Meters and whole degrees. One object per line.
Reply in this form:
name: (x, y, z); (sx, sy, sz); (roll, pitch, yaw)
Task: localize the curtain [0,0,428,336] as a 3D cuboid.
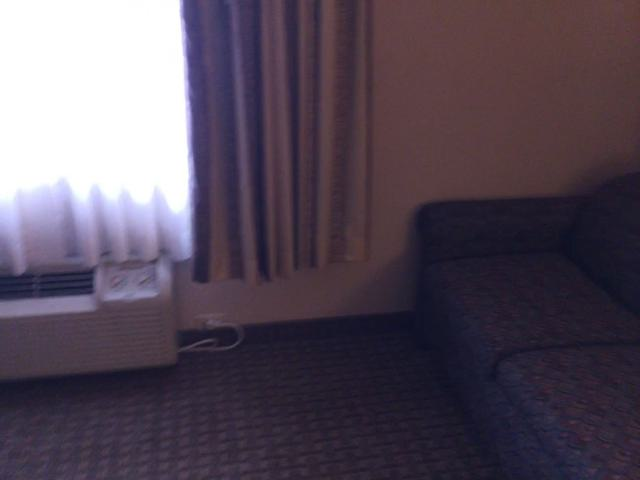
curtain: (-0.890, -0.260, 1.570); (2.260, 0.980, 0.390); (-3, 26, -15)

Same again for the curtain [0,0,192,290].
curtain: (-0.990, -0.320, 1.720); (1.160, 0.970, 0.190); (-3, 26, -15)

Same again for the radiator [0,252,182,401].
radiator: (-1.000, 0.300, 1.930); (1.030, 0.450, 0.150); (-3, 26, -15)
